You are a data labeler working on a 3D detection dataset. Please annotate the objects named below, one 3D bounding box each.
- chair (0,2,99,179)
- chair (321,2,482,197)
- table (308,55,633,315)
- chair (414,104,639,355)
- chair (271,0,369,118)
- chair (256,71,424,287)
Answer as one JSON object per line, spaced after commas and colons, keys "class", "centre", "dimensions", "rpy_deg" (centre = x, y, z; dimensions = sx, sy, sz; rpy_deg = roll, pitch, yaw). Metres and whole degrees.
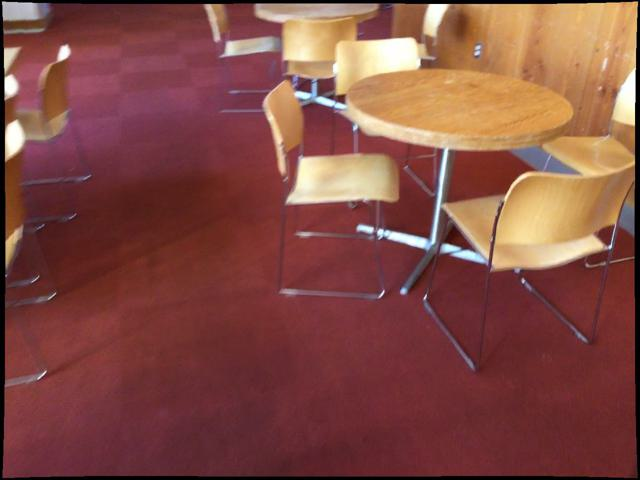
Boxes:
{"class": "chair", "centre": [-1.429, -0.731, 2.800], "dimensions": [0.549, 0.690, 0.530], "rpy_deg": [-5, 34, -14]}
{"class": "chair", "centre": [0.370, -0.751, 3.010], "dimensions": [0.510, 0.791, 0.650], "rpy_deg": [-7, 34, -16]}
{"class": "table", "centre": [0.539, -0.310, 2.540], "dimensions": [0.929, 0.721, 0.930], "rpy_deg": [-6, 34, -16]}
{"class": "chair", "centre": [0.729, -0.060, 2.050], "dimensions": [0.520, 0.660, 0.530], "rpy_deg": [-6, 34, -16]}
{"class": "chair", "centre": [-0.030, -1.231, 3.890], "dimensions": [0.549, 0.660, 0.530], "rpy_deg": [-2, 33, -9]}
{"class": "chair", "centre": [0.040, -0.260, 2.380], "dimensions": [0.569, 0.670, 0.580], "rpy_deg": [2, 33, -3]}
